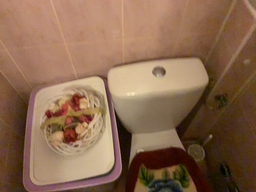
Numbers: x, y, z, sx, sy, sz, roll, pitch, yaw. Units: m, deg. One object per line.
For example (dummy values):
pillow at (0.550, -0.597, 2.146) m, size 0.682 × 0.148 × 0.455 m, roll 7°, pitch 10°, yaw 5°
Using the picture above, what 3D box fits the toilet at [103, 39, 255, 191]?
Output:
toilet at (0.140, 0.310, 0.970) m, size 0.380 × 0.790 × 0.730 m, roll -7°, pitch 59°, yaw -5°

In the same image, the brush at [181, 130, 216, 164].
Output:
brush at (0.420, 0.310, 1.280) m, size 0.120 × 0.170 × 0.140 m, roll -7°, pitch 59°, yaw -5°
